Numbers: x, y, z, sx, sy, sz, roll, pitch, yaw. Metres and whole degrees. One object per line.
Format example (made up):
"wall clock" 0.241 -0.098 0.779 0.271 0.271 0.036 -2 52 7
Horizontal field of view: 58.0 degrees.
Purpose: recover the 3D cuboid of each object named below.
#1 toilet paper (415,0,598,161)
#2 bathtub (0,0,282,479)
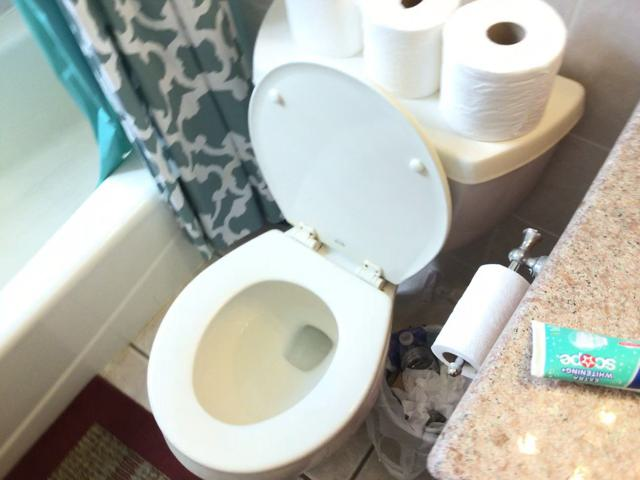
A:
"toilet paper" 0.220 -0.210 0.700 0.140 0.110 0.150 30 65 20
"bathtub" -0.840 0.120 1.250 0.750 0.360 1.450 31 66 20
